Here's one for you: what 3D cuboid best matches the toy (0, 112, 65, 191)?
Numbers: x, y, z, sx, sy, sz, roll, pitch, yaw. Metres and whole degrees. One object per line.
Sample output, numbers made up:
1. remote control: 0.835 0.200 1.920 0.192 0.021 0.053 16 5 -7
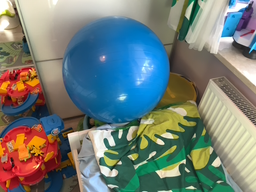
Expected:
1. toy: -0.610 0.380 1.380 0.330 0.250 0.460 -7 46 -13
